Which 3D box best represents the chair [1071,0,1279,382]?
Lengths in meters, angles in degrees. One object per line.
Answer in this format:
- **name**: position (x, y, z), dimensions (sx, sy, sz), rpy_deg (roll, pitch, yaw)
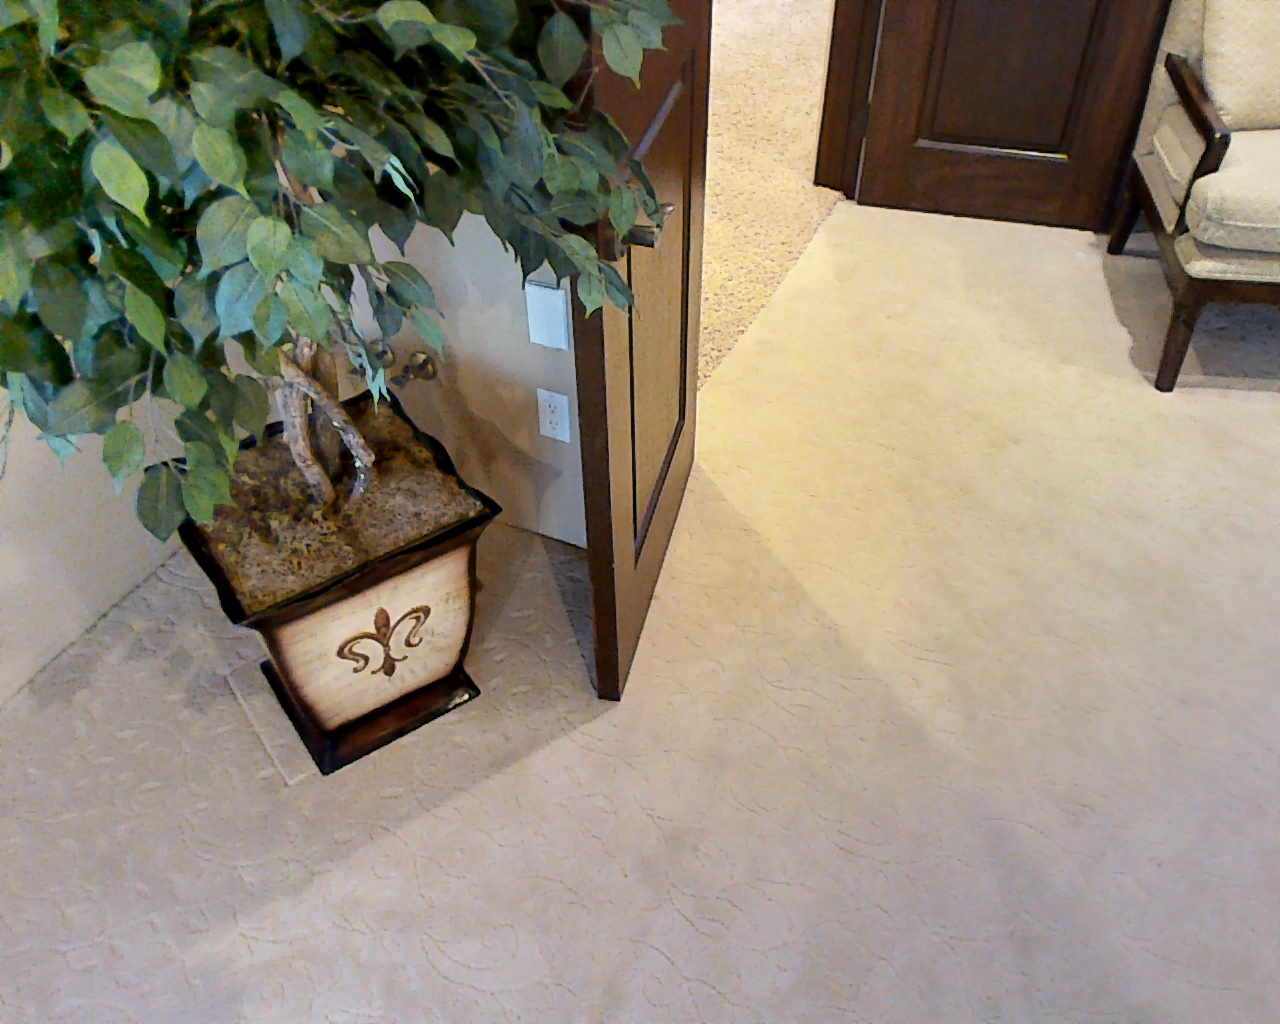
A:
- **chair**: position (1.761, -0.990, 2.630), dimensions (0.940, 1.040, 0.870), rpy_deg (5, 42, 5)
